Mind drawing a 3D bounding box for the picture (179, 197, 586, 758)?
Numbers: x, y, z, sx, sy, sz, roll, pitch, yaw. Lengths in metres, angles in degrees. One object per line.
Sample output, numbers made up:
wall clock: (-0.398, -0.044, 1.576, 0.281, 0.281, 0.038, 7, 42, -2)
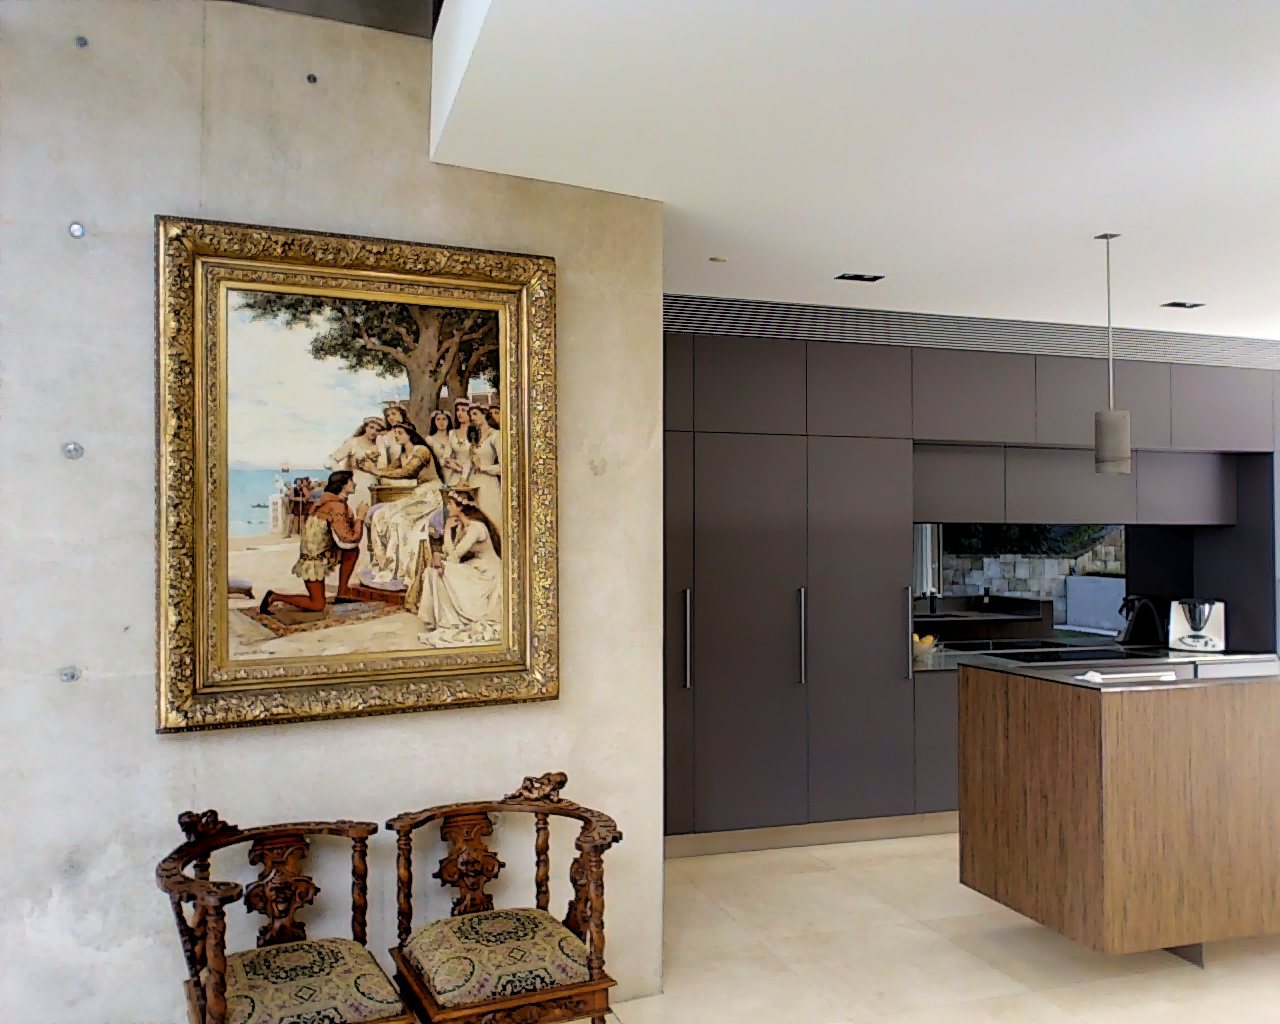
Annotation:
picture: (-0.730, -0.090, 3.150, 1.140, 1.490, 0.200, 0, -1, -22)
